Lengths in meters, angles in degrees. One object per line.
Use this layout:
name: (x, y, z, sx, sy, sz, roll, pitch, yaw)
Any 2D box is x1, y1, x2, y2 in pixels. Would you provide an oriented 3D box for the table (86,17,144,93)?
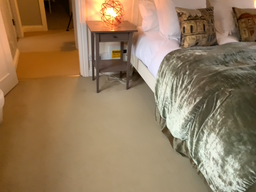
table: (-0.170, -0.470, 2.390, 0.490, 0.690, 0.450, -8, 36, -18)

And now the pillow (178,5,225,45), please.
pillow: (0.670, -0.650, 1.940, 0.370, 0.320, 0.100, -8, -2, -16)
